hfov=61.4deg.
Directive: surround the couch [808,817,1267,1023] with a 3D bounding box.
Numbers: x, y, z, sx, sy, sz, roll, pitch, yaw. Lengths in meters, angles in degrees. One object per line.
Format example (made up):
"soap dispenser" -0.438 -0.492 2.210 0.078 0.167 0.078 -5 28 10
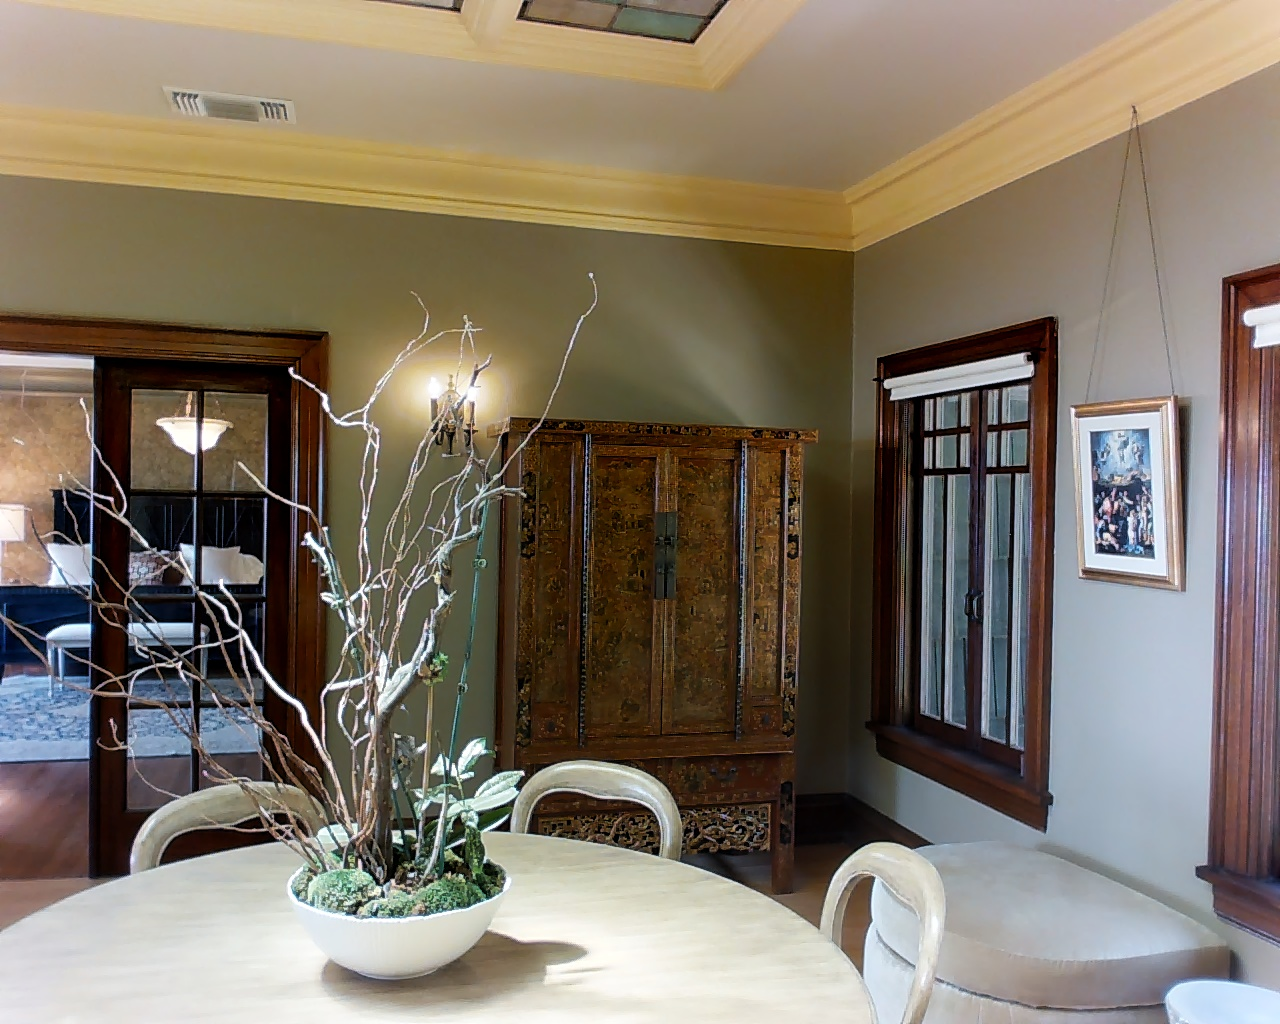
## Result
"couch" 1.110 1.330 3.230 0.840 0.500 1.030 1 0 -16
